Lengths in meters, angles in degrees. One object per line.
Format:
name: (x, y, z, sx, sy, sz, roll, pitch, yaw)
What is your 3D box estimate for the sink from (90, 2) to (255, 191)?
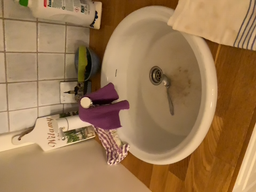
sink: (0.100, -0.030, 0.690, 0.460, 0.200, 0.470, 27, 116, 44)
